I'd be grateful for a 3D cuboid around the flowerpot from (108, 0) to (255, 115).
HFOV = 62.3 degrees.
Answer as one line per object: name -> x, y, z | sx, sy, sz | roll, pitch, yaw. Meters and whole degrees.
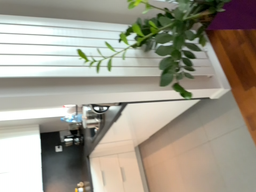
flowerpot -> 0.500, -0.580, 1.230 | 0.960, 0.890, 1.030 | 125, 137, -56
